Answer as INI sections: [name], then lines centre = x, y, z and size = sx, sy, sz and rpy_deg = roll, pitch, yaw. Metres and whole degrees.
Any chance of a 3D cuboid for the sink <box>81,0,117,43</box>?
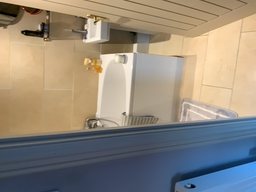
[sink]
centre = -0.300, -0.820, 2.110
size = 0.450, 0.180, 0.510
rpy_deg = 16, 104, 59
